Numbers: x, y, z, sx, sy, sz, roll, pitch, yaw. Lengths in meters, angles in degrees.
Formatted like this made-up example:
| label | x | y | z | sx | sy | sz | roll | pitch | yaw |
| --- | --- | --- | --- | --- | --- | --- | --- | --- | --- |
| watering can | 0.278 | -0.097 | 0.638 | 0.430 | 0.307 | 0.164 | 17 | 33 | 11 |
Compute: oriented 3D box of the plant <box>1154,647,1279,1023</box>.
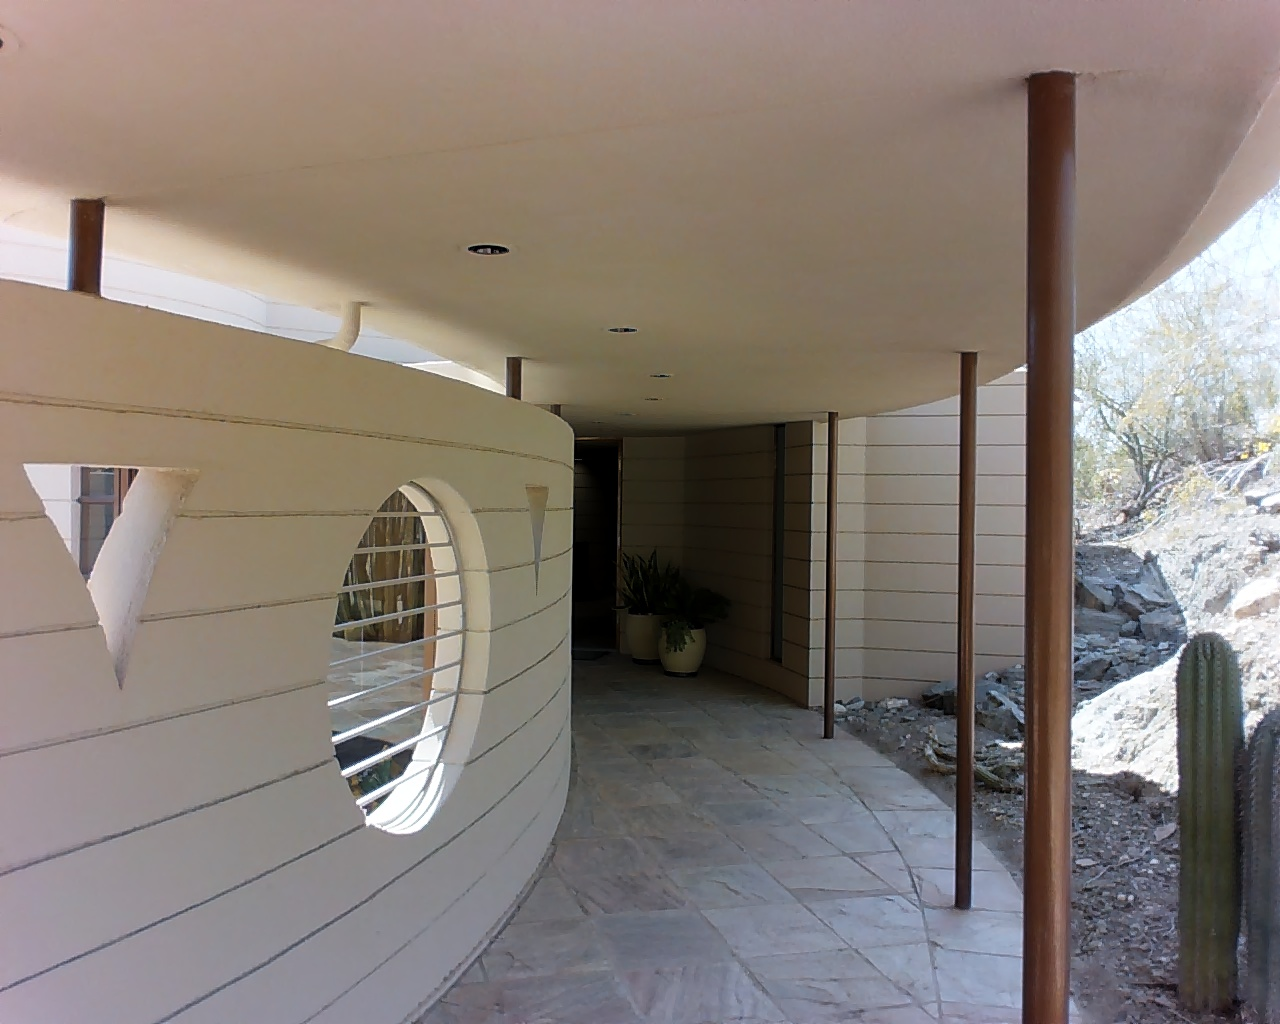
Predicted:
| label | x | y | z | sx | sy | sz | roll | pitch | yaw |
| --- | --- | --- | --- | --- | --- | --- | --- | --- | --- |
| plant | 1.760 | 0.890 | 3.000 | 0.320 | 0.950 | 0.490 | 0 | 1 | -13 |
